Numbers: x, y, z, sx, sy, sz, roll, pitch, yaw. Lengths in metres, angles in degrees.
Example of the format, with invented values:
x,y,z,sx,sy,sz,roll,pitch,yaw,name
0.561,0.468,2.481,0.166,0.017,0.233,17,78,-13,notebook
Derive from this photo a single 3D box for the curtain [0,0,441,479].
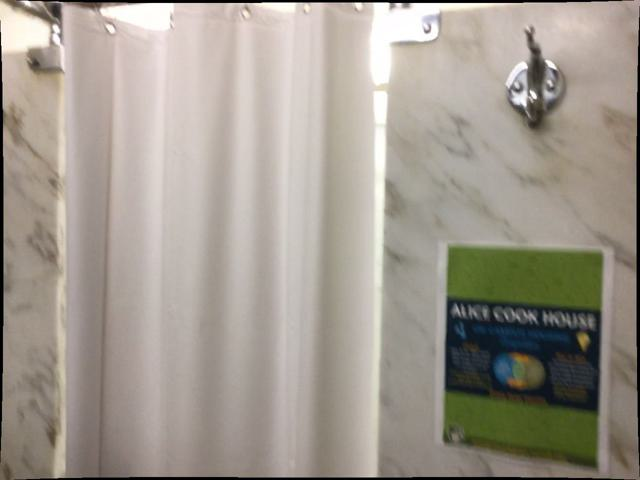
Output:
x,y,z,sx,sy,sz,roll,pitch,yaw,name
-0.210,0.560,0.880,0.709,1.932,0.310,1,1,19,curtain
